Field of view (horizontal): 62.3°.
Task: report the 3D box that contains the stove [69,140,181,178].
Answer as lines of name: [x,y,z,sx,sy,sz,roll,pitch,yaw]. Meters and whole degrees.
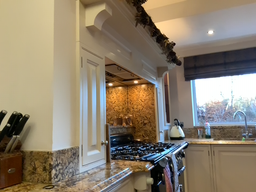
stove: [0.090,0.540,2.030,0.630,0.120,1.230,-4,-7,23]
